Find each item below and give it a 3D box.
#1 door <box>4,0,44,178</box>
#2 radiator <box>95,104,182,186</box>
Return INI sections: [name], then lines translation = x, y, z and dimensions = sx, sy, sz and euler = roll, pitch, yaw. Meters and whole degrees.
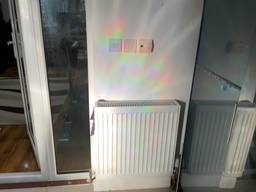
[door]
translation = -0.930, -0.460, 1.780
dimensions = 0.070, 2.150, 0.880
euler = -10, 24, -29
[radiator]
translation = 0.060, 0.370, 1.570
dimensions = 0.590, 0.620, 0.100
euler = 0, 21, -7
